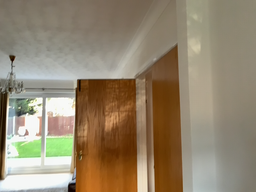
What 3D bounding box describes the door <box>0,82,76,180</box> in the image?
[{"bbox_3d":[-2.560,0.890,5.770,2.170,2.540,0.170,0,-5,-10],"label":"door"}]
